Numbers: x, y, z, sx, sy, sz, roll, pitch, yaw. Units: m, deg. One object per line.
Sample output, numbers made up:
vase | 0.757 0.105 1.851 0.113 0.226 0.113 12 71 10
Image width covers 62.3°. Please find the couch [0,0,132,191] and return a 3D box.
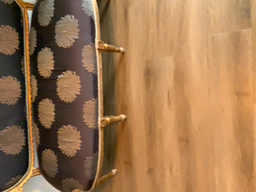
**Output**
couch | -0.600 -0.070 1.450 0.800 1.010 1.530 0 92 35
